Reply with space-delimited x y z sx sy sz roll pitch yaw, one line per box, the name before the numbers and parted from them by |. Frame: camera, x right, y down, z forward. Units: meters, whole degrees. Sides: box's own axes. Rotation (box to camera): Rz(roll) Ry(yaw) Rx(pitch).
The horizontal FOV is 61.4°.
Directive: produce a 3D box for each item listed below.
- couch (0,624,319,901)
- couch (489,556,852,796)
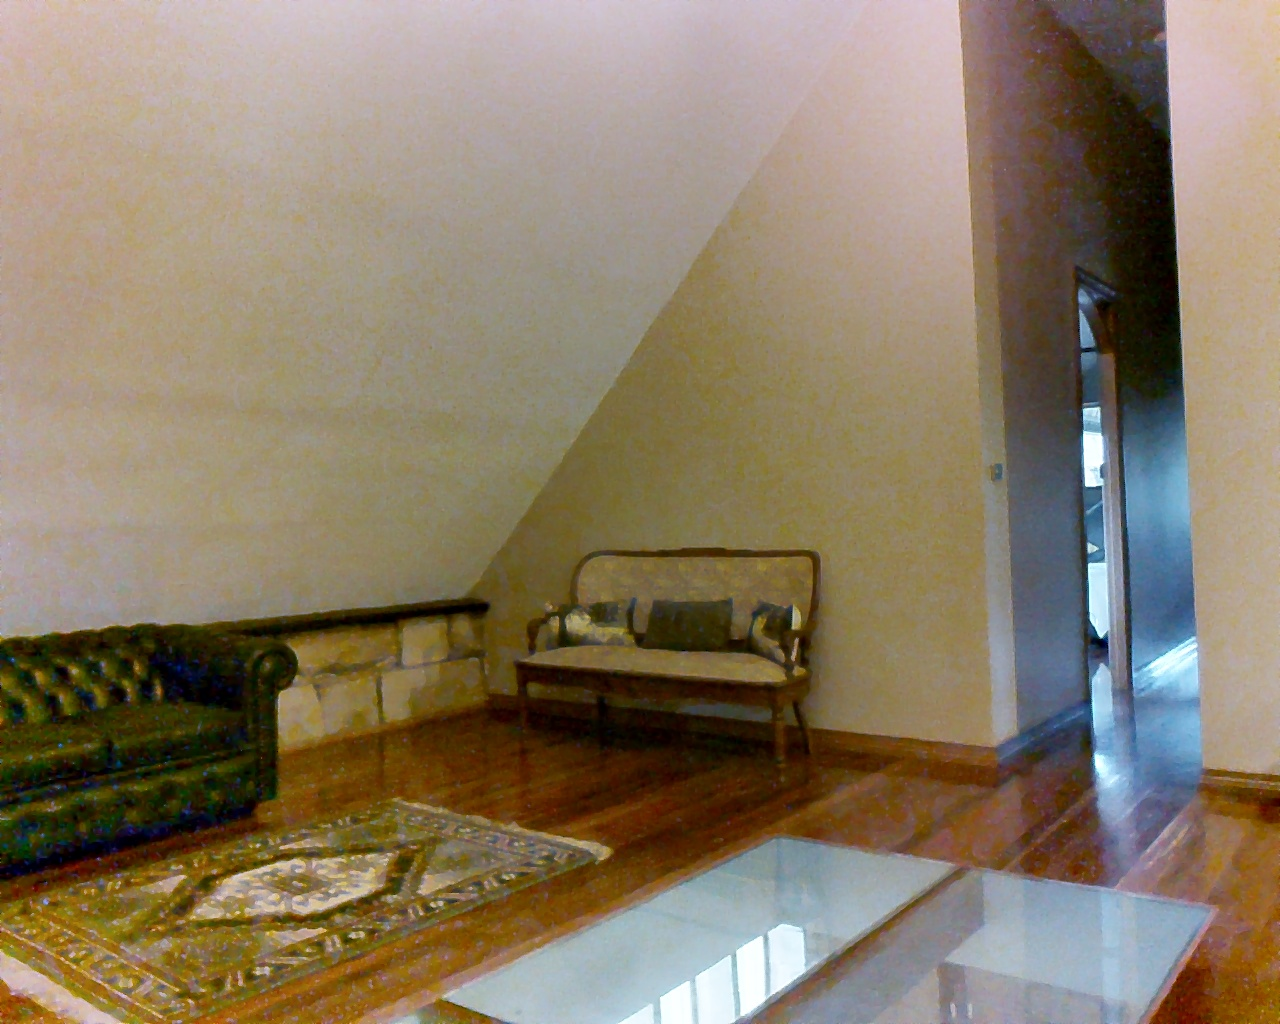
couch | -2.219 0.880 4.030 1.010 0.740 1.650 -3 -1 37
couch | 0.110 0.730 5.300 1.650 0.970 0.710 -3 -1 38
